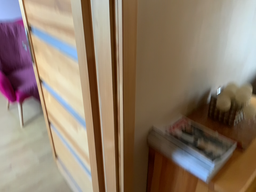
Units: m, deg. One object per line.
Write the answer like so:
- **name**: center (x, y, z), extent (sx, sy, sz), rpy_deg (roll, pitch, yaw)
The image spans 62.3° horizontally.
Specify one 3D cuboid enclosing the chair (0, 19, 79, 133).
- **chair**: center (-1.240, -0.310, 2.590), extent (0.840, 1.020, 0.780), rpy_deg (20, 35, 31)
